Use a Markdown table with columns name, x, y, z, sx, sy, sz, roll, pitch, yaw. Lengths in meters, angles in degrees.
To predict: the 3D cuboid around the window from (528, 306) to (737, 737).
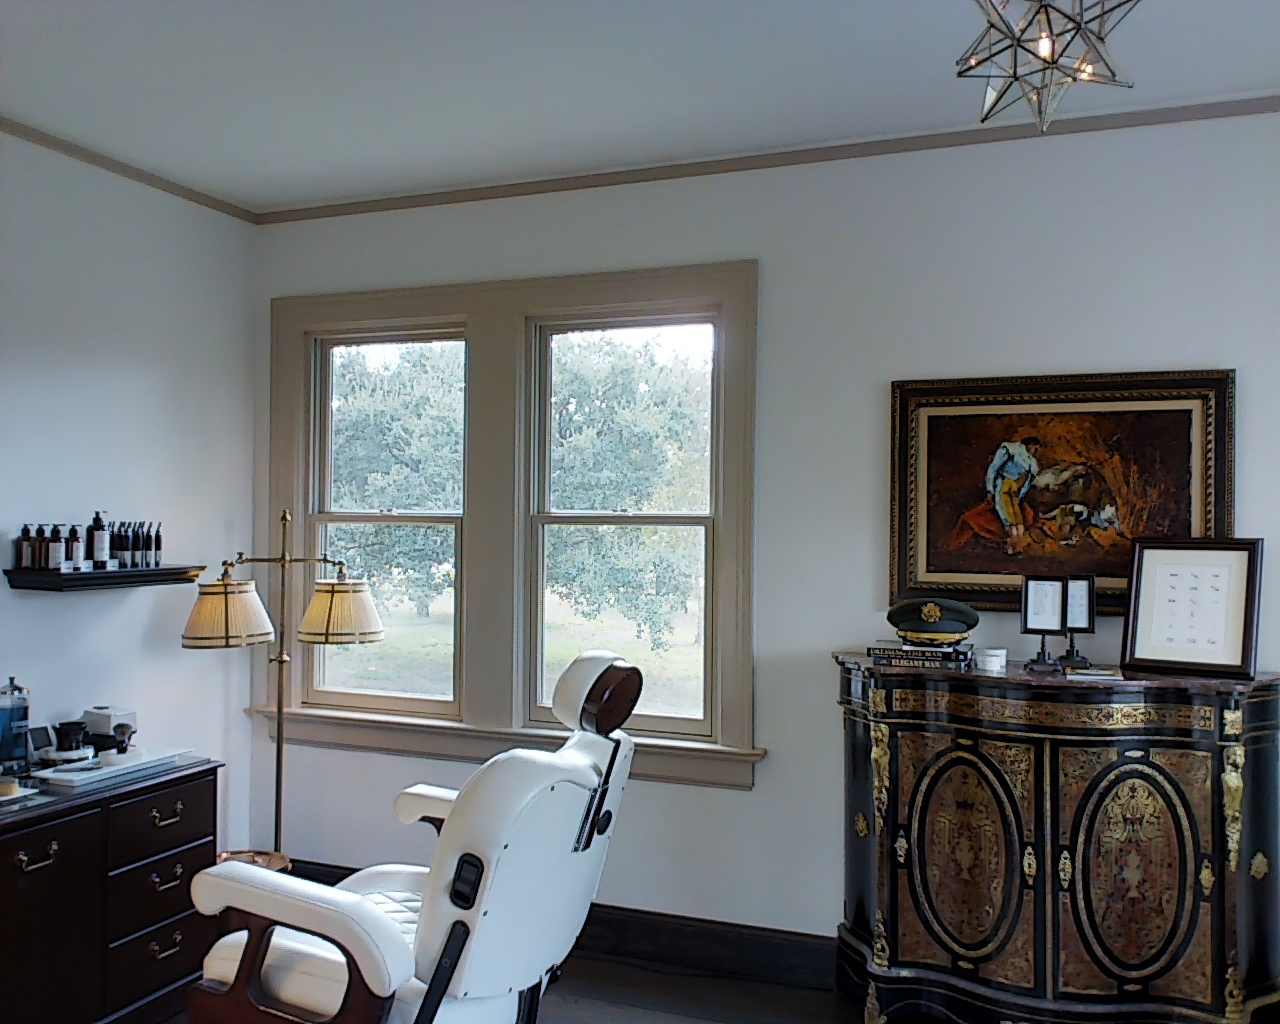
| name | x | y | z | sx | sy | sz | roll | pitch | yaw |
| --- | --- | --- | --- | --- | --- | --- | --- | --- | --- |
| window | -0.030 | 0.030 | 3.960 | 0.740 | 1.500 | 0.190 | 0 | 0 | 21 |

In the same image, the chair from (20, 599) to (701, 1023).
| name | x | y | z | sx | sy | sz | roll | pitch | yaw |
| --- | --- | --- | --- | --- | --- | --- | --- | --- | --- |
| chair | -0.530 | 0.860 | 2.220 | 1.110 | 1.270 | 0.780 | 0 | 0 | 22 |

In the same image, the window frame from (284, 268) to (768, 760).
| name | x | y | z | sx | sy | sz | roll | pitch | yaw |
| --- | --- | --- | --- | --- | --- | --- | --- | --- | --- |
| window frame | -0.500 | 0.000 | 4.120 | 1.980 | 1.690 | 0.160 | 0 | 0 | 21 |
